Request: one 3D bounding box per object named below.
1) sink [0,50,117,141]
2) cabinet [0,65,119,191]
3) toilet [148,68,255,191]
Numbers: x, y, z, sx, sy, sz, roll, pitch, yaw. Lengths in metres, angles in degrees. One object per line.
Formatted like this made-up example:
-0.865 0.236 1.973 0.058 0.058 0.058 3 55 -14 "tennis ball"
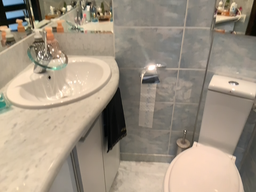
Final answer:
-0.330 -0.050 1.100 0.470 0.170 0.590 3 31 4 "sink"
-0.330 0.320 1.320 0.470 0.830 0.600 2 31 3 "cabinet"
0.450 0.400 1.180 0.420 0.850 0.710 17 35 26 "toilet"
